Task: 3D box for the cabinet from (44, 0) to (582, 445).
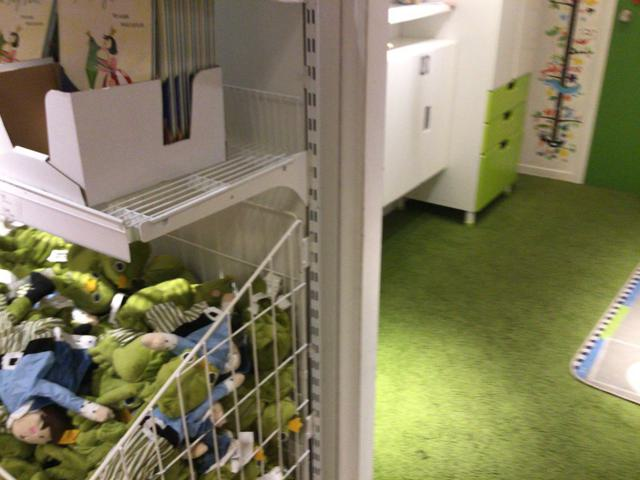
[{"bbox_3d":[0.270,-0.780,2.290,0.650,2.000,2.370,20,34,37],"label":"cabinet"}]
